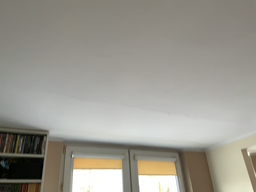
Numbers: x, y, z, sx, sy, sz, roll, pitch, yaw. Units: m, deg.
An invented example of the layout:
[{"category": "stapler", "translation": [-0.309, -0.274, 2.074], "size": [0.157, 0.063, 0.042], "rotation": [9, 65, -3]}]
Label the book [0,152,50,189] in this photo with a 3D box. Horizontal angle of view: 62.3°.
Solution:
[{"category": "book", "translation": [-1.120, 0.660, 1.870], "size": [0.770, 0.270, 0.230], "rotation": [9, -30, -23]}]

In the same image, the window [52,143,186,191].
[{"category": "window", "translation": [0.000, 1.430, 2.360], "size": [1.660, 1.680, 0.160], "rotation": [10, -30, -24]}]
